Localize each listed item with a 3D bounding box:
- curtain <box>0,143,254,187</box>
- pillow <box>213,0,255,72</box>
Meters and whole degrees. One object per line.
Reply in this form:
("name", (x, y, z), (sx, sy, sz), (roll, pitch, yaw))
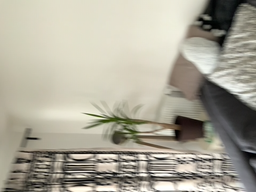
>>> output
("curtain", (0.030, 0.730, 2.260), (0.410, 2.620, 0.100), (-96, 12, -47))
("pillow", (0.810, -0.450, 1.460), (0.480, 0.150, 0.340), (-96, 12, -47))
